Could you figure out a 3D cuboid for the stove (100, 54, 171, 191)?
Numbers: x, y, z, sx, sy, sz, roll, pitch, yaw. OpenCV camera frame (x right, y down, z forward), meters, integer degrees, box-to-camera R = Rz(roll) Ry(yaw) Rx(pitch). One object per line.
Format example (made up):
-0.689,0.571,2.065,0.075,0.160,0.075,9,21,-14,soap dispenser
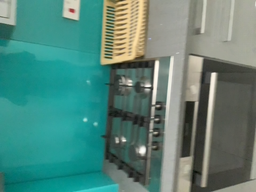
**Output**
0.000,0.110,1.070,0.520,0.030,0.590,9,95,58,stove
